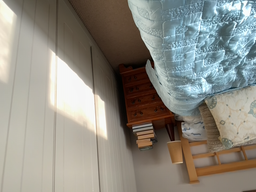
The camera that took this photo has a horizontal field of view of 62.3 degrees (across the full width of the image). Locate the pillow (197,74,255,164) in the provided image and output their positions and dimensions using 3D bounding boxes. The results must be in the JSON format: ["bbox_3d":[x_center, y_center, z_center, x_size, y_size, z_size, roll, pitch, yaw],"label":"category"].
[{"bbox_3d":[0.810,0.140,1.480,0.430,0.430,0.180,-39,140,-8],"label":"pillow"}]
